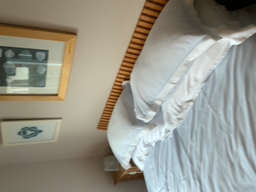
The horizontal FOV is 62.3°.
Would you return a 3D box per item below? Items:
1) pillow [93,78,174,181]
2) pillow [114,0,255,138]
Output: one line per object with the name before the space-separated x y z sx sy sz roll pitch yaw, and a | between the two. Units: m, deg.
pillow | -0.020 0.310 1.790 0.820 0.300 0.460 116 145 -43
pillow | 0.230 -0.190 1.250 0.790 0.320 0.490 115 146 -42
